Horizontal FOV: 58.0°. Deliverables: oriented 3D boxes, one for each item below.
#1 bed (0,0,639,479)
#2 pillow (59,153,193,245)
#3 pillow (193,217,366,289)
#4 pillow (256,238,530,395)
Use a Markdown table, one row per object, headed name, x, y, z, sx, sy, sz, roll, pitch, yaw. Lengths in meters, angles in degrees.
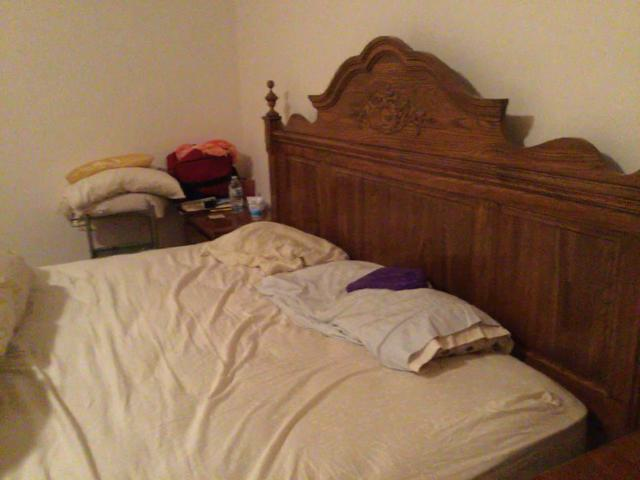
| name | x | y | z | sx | sy | sz | roll | pitch | yaw |
| --- | --- | --- | --- | --- | --- | --- | --- | --- | --- |
| bed | -0.650 | 0.210 | 1.580 | 2.240 | 1.660 | 2.080 | -2 | 15 | -27 |
| pillow | -0.990 | -0.220 | 2.930 | 0.580 | 0.380 | 0.400 | -2 | 15 | -27 |
| pillow | -0.180 | 0.030 | 2.280 | 0.500 | 0.130 | 0.540 | -2 | 15 | -27 |
| pillow | 0.160 | 0.170 | 1.690 | 0.450 | 0.170 | 0.730 | -2 | 15 | -27 |
